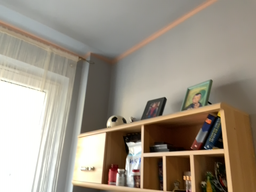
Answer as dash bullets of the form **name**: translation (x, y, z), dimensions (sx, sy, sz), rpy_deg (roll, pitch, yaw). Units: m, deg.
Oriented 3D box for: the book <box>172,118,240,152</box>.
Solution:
- **book**: translation (0.360, 0.190, 0.980), dimensions (0.260, 0.100, 0.180), rpy_deg (19, -25, -36)
